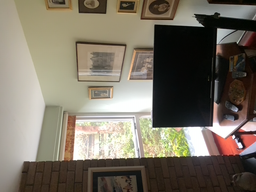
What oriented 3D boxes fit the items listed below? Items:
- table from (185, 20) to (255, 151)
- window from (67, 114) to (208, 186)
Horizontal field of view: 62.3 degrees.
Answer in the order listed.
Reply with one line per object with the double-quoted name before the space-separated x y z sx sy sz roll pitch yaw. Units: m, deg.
"table" 1.090 -0.080 2.220 0.960 0.430 0.950 103 165 -51
"window" 0.120 0.720 3.090 0.140 1.860 0.990 102 165 -50
